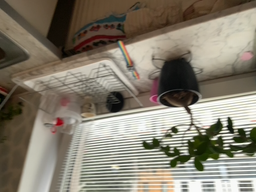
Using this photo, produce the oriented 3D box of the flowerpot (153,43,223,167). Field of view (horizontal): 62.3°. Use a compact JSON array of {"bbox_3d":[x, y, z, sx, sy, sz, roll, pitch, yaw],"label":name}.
[{"bbox_3d":[0.220,0.040,0.840,0.200,0.430,0.200,-6,151,15],"label":"flowerpot"}]
